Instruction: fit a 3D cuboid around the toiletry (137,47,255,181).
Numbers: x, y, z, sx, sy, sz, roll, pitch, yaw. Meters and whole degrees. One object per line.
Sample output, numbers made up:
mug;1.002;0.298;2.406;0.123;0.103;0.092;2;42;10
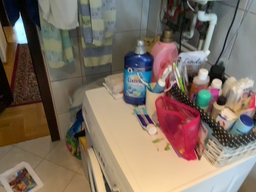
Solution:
toiletry;0.310;0.020;0.780;0.420;0.210;0.390;-11;39;-19
